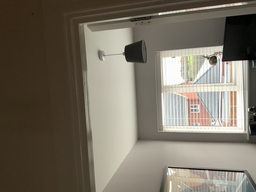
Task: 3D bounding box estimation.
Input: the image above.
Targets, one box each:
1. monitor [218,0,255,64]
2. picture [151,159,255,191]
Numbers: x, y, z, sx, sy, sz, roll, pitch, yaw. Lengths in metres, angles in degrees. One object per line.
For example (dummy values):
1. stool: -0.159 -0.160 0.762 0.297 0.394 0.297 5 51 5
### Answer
1. monitor: 1.300 -0.700 2.390 0.070 0.470 0.750 -77 -21 -44
2. picture: 0.630 0.720 1.860 0.680 0.770 0.030 -23 -69 -74
